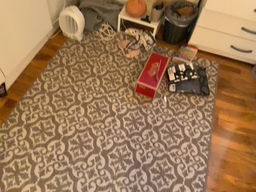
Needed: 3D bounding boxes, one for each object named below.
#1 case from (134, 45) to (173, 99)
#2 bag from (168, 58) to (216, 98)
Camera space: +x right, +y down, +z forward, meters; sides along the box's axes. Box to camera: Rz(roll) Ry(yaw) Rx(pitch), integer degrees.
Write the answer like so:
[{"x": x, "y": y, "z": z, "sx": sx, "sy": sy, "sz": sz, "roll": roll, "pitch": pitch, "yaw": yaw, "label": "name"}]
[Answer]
[{"x": 0.180, "y": -0.170, "z": 1.440, "sx": 0.170, "sy": 0.100, "sz": 0.350, "roll": 18, "pitch": 56, "yaw": 5, "label": "case"}, {"x": 0.440, "y": -0.130, "z": 1.490, "sx": 0.300, "sy": 0.070, "sz": 0.240, "roll": 9, "pitch": 56, "yaw": -1, "label": "bag"}]
